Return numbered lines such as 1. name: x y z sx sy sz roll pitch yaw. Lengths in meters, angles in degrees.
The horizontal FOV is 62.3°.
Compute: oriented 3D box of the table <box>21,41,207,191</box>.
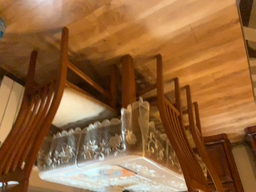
1. table: -0.020 0.360 1.870 0.920 0.770 1.210 -21 143 26
